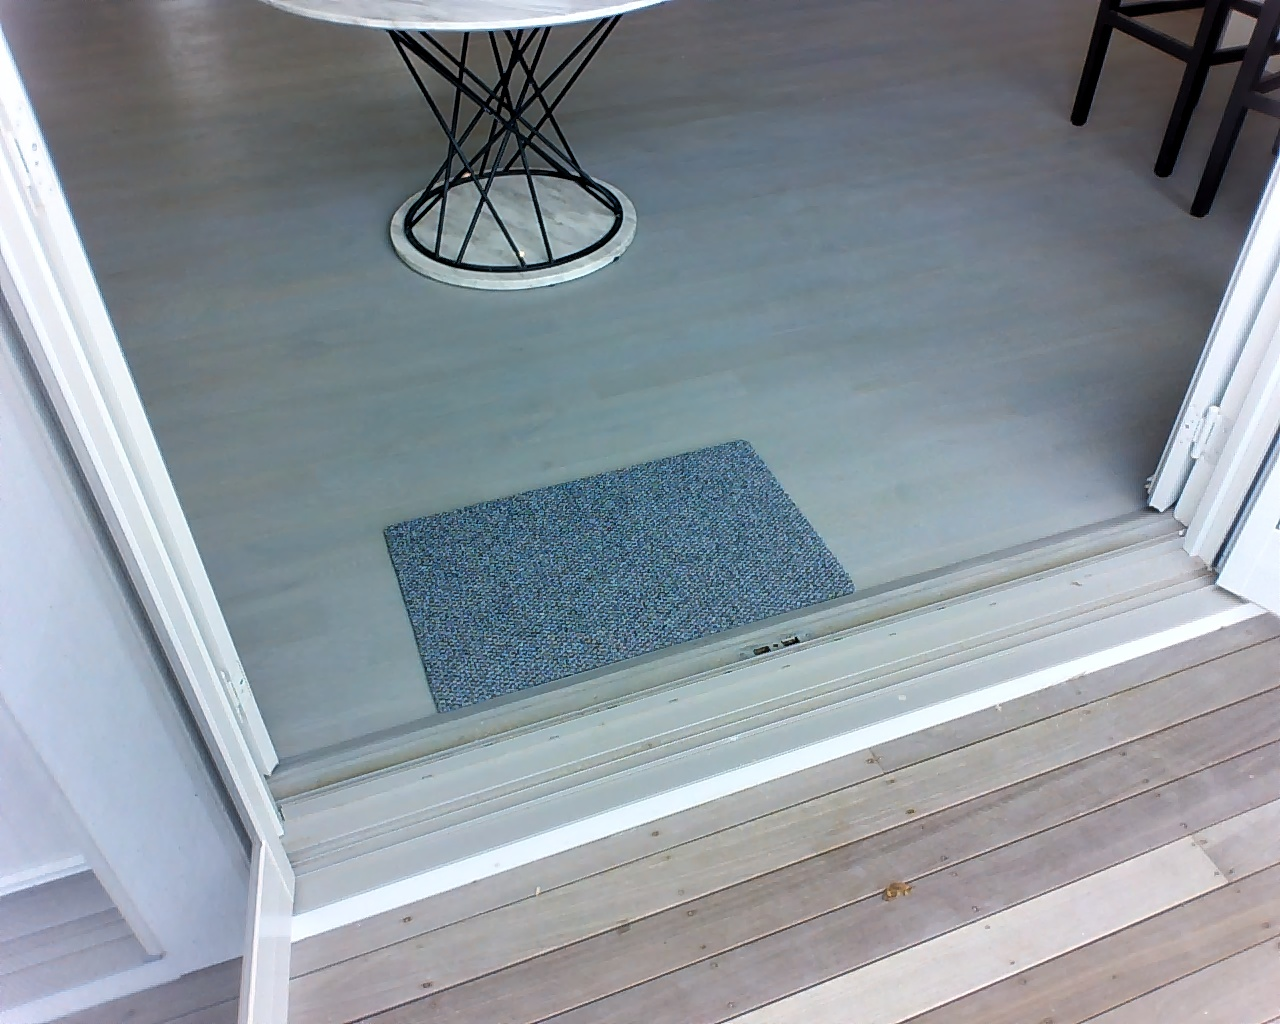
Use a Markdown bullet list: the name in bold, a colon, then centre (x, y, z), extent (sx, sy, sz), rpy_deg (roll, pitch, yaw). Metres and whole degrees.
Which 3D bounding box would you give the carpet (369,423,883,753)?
- **carpet**: centre (-0.050, 0.100, 2.100), extent (0.840, 0.030, 0.600), rpy_deg (-15, 44, -16)
